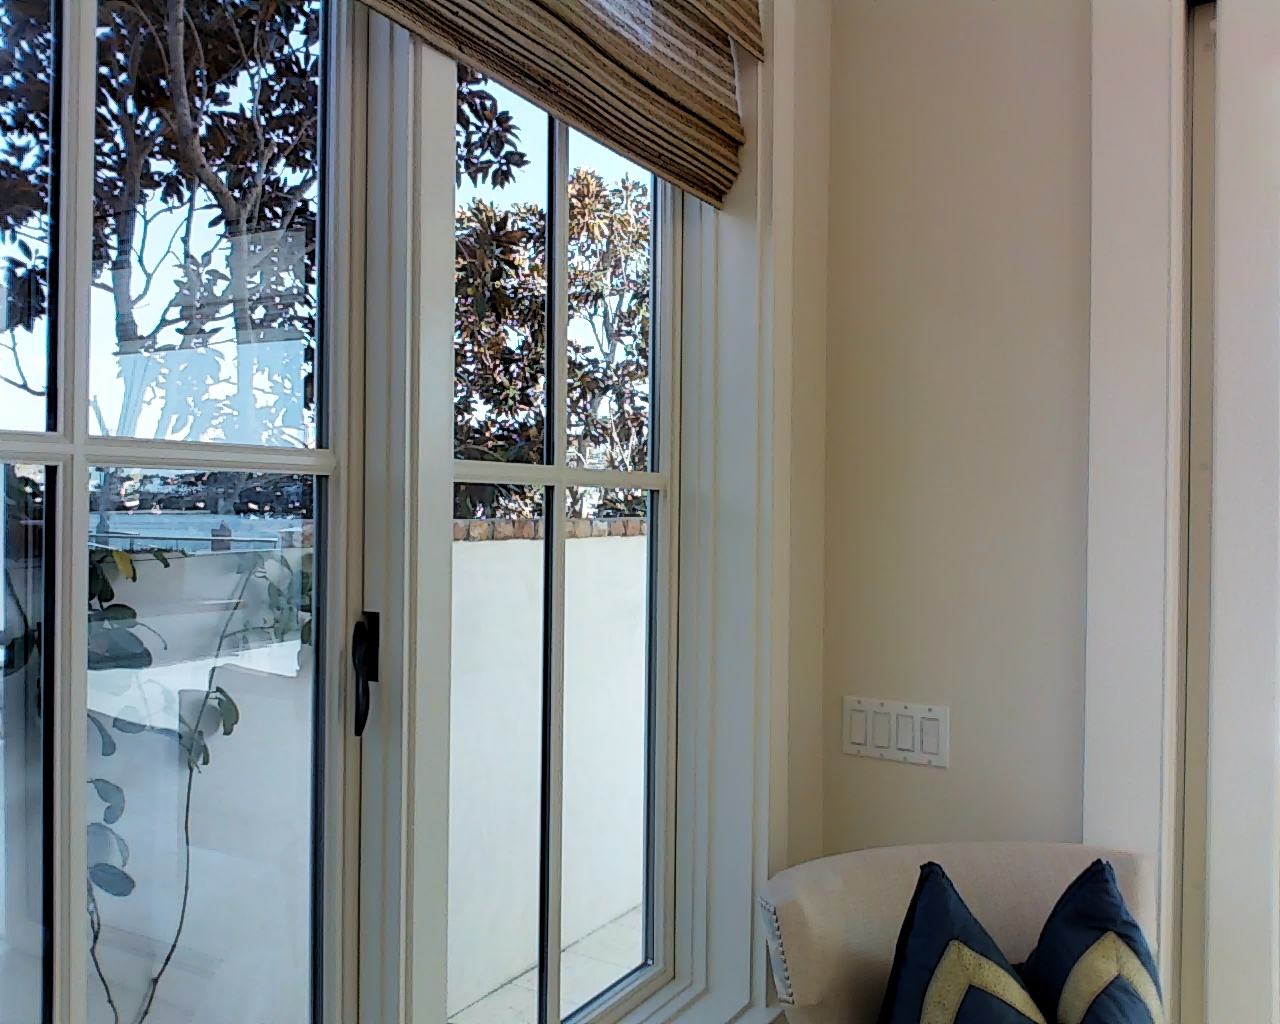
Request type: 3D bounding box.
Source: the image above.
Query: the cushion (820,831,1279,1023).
[{"bbox_3d":[0.580,0.740,1.490,0.590,0.490,0.320,1,0,-5],"label":"cushion"}]
